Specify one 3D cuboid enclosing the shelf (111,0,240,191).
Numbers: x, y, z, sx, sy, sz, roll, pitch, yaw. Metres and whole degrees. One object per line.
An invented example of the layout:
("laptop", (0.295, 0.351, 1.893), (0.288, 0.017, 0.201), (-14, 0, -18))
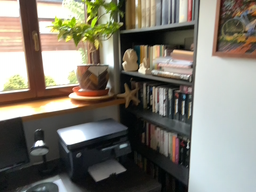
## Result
("shelf", (0.250, 0.140, 1.620), (0.310, 2.000, 0.890), (-9, 16, -31))
